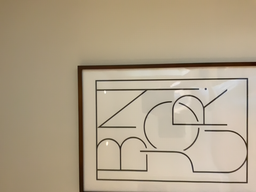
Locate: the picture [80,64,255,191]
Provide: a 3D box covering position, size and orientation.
[{"bbox_3d":[0.160,0.130,0.830,0.050,0.690,0.490,-8,-82,-85],"label":"picture"}]
